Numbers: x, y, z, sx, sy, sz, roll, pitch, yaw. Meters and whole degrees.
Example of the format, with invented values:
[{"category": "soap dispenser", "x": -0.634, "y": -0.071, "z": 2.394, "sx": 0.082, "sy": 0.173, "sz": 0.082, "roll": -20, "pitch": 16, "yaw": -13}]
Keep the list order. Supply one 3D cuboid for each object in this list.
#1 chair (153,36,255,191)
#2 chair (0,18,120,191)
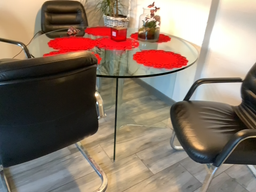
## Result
[{"category": "chair", "x": 0.600, "y": 0.180, "z": 1.290, "sx": 0.660, "sy": 0.920, "sz": 0.590, "roll": -1, "pitch": 30, "yaw": -10}, {"category": "chair", "x": -0.500, "y": 0.130, "z": 1.200, "sx": 0.580, "sy": 0.950, "sz": 0.670, "roll": -19, "pitch": 37, "yaw": -35}]
